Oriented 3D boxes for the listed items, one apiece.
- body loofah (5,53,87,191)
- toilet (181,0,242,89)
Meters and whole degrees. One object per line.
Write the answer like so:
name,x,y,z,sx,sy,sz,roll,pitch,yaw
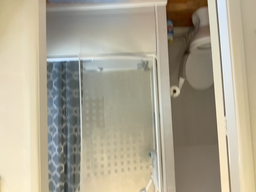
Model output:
body loofah,-0.820,0.360,2.150,0.730,1.520,0.220,-2,176,2
toilet,0.880,-0.550,2.360,0.390,0.870,0.630,-2,176,1
